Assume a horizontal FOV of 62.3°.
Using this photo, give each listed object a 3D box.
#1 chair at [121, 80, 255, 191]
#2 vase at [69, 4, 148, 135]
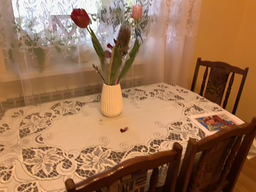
[{"bbox_3d":[0.260,0.450,1.230,0.400,0.930,0.490,-11,30,-27],"label":"chair"},{"bbox_3d":[-0.110,-0.140,1.140,0.320,0.630,0.200,-10,29,-25],"label":"vase"}]
